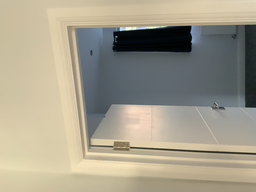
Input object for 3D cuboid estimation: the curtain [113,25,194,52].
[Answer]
[{"bbox_3d":[0.450,-1.030,3.820,0.080,1.430,0.450,-1,-88,-84],"label":"curtain"}]
